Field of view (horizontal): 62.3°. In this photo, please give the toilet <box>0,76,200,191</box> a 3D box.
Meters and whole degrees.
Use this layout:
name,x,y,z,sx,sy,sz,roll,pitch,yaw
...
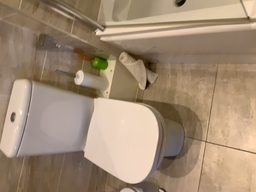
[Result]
name,x,y,z,sx,sy,sz,roll,pitch,yaw
toilet,-0.100,0.200,1.140,0.630,0.830,0.400,8,86,39
